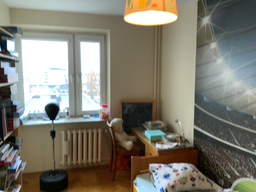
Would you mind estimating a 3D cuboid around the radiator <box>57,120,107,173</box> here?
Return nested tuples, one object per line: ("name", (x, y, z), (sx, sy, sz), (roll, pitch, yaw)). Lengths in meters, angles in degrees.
("radiator", (-0.770, 0.830, 3.600), (0.800, 0.780, 0.230), (-1, 6, -17))

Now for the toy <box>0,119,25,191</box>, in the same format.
("toy", (-1.200, 0.550, 2.000), (0.250, 0.510, 0.760), (-1, 6, -14))
